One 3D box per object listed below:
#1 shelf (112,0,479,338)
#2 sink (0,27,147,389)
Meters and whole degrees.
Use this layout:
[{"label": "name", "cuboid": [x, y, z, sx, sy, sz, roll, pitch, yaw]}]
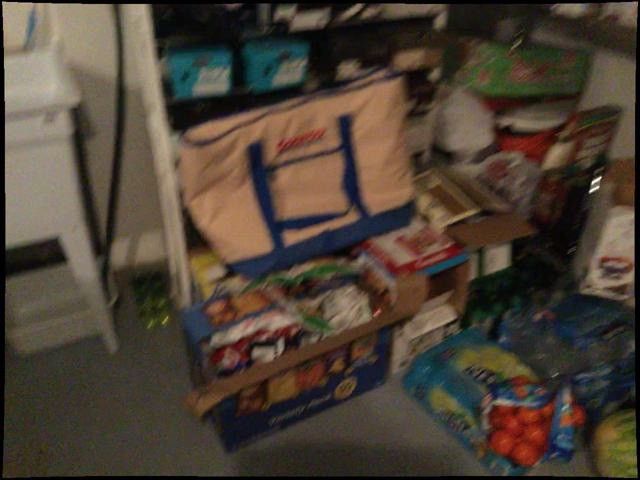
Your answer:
[{"label": "shelf", "cuboid": [-0.060, -0.470, 1.790, 0.959, 1.351, 0.410, -16, 37, -21]}, {"label": "sink", "cuboid": [-0.969, -0.080, 1.700, 0.650, 0.861, 0.540, -16, 37, -21]}]
